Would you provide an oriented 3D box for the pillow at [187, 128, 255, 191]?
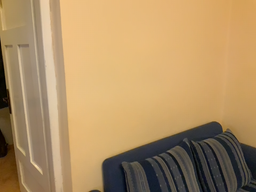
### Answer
[{"bbox_3d":[0.750,0.490,1.630,0.510,0.370,0.200,-8,-8,-33],"label":"pillow"}]

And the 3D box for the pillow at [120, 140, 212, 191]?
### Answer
[{"bbox_3d":[0.260,0.550,1.320,0.550,0.410,0.170,-8,0,-33],"label":"pillow"}]
